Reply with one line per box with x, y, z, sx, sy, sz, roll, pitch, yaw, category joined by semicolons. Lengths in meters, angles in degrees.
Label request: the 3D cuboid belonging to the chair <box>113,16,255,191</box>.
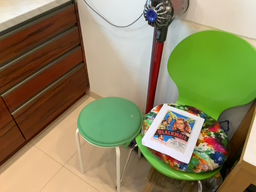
0.270;0.170;1.070;0.460;0.870;0.510;26;50;21;chair

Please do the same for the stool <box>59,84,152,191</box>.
-0.110;0.260;1.230;0.330;0.480;0.330;25;49;21;stool
